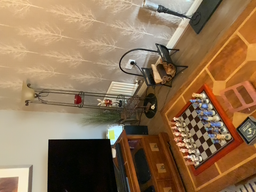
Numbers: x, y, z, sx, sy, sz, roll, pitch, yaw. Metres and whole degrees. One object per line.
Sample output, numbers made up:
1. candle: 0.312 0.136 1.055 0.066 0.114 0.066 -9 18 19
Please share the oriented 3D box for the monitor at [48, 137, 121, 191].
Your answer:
1. monitor: -0.410 0.970 2.090 0.080 0.700 1.220 122 144 -43
